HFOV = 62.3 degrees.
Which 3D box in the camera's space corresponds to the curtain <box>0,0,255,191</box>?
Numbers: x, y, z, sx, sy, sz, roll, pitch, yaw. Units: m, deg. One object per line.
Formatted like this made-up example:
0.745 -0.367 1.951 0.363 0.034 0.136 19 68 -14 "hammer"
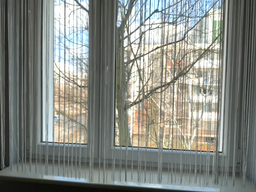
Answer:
-0.040 -0.350 1.160 1.600 1.860 0.170 2 3 6 "curtain"
